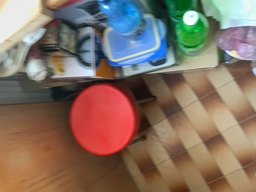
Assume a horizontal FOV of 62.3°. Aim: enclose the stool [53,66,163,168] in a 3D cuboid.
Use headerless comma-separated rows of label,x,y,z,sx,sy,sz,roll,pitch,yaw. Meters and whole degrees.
stool,-0.070,0.090,1.070,0.310,0.400,0.310,-33,80,17
